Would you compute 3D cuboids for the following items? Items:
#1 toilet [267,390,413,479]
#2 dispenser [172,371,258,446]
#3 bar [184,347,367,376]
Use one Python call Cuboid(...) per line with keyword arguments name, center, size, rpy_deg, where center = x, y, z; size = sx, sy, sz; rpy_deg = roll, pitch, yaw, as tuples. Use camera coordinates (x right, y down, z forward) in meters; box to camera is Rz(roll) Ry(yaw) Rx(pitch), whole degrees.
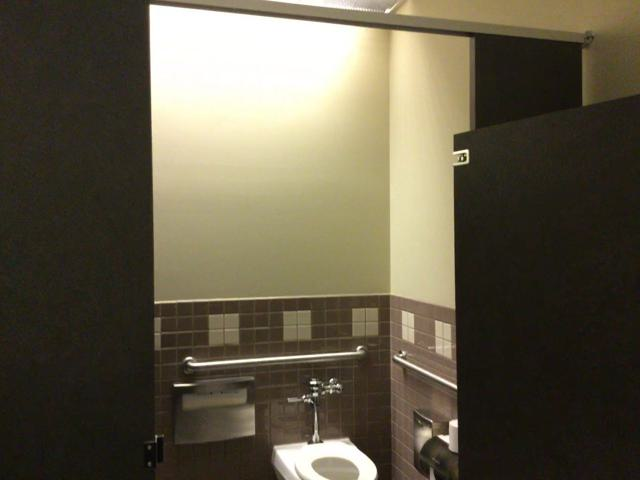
Cuboid(name="toilet", center=(0.060, 1.080, 2.680), size=(0.480, 0.630, 0.650), rpy_deg=(4, -4, -15))
Cuboid(name="dispenser", center=(-0.510, 0.820, 2.820), size=(0.390, 0.340, 0.060), rpy_deg=(4, -4, -15))
Cuboid(name="bar", center=(-0.210, 0.610, 2.900), size=(0.910, 0.120, 0.080), rpy_deg=(4, -4, -15))
